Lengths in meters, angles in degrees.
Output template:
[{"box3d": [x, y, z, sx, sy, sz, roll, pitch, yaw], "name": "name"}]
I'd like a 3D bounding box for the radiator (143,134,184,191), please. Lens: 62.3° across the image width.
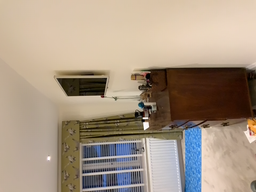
[{"box3d": [0.680, 1.340, 4.070, 0.110, 0.720, 1.150, 138, 131, -78], "name": "radiator"}]
